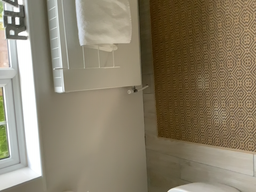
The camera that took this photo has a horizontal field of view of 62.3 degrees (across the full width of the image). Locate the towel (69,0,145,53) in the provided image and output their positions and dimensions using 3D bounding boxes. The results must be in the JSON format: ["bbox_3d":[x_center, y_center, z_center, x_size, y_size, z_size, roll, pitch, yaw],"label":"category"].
[{"bbox_3d":[-0.100,-0.460,1.150,0.140,0.400,0.420,3,98,45],"label":"towel"}]
